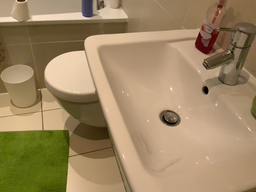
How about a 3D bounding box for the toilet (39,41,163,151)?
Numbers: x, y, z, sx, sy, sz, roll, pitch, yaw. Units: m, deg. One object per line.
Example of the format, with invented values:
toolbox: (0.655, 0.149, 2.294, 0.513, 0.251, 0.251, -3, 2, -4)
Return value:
toilet: (-0.180, -0.020, 1.260, 0.570, 0.420, 0.400, -9, 46, -18)
